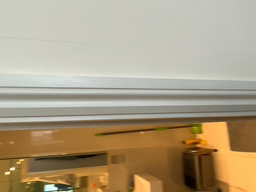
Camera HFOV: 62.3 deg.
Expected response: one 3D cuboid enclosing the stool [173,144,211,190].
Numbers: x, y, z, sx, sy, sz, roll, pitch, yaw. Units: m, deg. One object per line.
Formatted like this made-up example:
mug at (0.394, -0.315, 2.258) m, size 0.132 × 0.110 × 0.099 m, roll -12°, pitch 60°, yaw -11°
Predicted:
stool at (0.710, 0.780, 2.390) m, size 0.300 × 0.240 × 0.430 m, roll 154°, pitch 115°, yaw -70°
